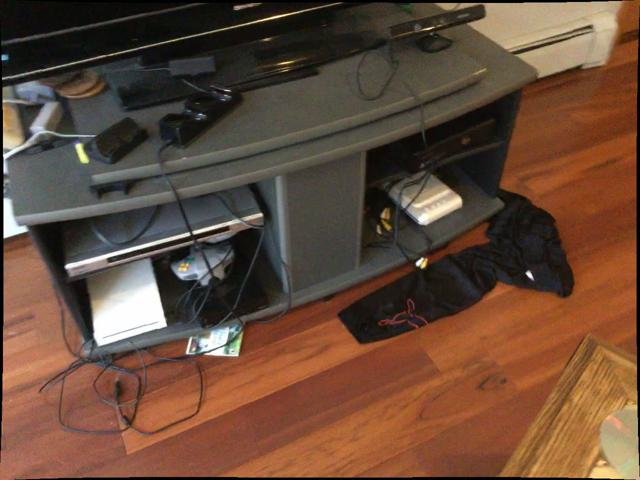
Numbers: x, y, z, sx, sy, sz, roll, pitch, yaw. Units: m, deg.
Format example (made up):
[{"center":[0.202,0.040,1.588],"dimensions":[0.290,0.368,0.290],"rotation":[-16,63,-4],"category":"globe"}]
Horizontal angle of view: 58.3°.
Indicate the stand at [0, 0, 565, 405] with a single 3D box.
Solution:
[{"center":[-0.150,-0.250,1.520],"dimensions":[1.269,0.590,0.660],"rotation":[-21,48,-19],"category":"stand"}]
